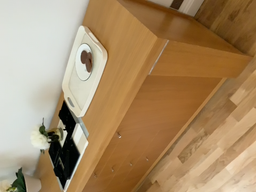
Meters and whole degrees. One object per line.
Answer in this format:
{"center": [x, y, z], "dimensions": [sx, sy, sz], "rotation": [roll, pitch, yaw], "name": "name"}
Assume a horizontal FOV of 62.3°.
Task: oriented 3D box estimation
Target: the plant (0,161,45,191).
{"center": [-0.930, 0.740, 1.650], "dimensions": [0.230, 0.440, 0.300], "rotation": [56, 131, 32], "name": "plant"}
